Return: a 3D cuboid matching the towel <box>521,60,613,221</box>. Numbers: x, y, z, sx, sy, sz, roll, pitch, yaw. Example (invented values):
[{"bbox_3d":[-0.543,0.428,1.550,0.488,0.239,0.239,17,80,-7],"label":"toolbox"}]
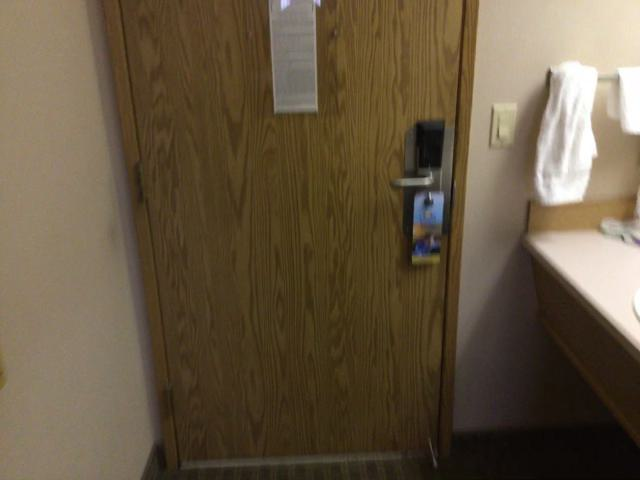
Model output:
[{"bbox_3d":[0.660,-0.270,1.570,0.180,0.400,0.130,-7,19,-1],"label":"towel"}]
